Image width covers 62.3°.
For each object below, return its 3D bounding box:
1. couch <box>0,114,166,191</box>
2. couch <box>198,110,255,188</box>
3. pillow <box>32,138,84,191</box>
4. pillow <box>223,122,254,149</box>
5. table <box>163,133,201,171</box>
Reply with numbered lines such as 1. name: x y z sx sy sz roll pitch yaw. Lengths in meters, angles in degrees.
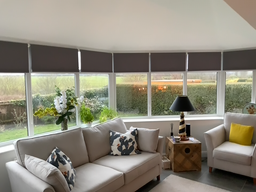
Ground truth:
1. couch: -0.470 0.900 2.940 1.110 0.900 2.030 4 7 38
2. couch: 1.850 0.810 3.660 0.880 0.920 0.990 5 8 41
3. pillow: -0.800 0.820 2.450 0.600 0.340 0.210 36 56 26
4. pillow: 1.950 0.680 3.750 0.410 0.360 0.240 5 8 42
5. table: 0.970 1.000 3.890 0.520 0.500 0.530 -1 6 -6
